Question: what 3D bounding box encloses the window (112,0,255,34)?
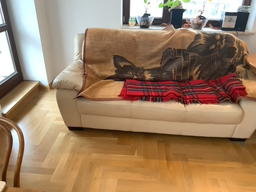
[{"bbox_3d":[0.770,-1.720,2.630,1.920,1.710,0.360,3,29,2],"label":"window"}]
